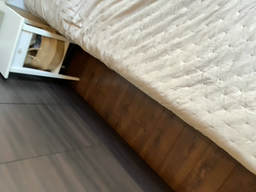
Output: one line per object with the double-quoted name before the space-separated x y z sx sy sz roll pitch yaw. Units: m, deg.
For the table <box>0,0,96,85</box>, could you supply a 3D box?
"table" -0.730 -0.430 1.880 0.330 0.690 0.520 39 110 30
